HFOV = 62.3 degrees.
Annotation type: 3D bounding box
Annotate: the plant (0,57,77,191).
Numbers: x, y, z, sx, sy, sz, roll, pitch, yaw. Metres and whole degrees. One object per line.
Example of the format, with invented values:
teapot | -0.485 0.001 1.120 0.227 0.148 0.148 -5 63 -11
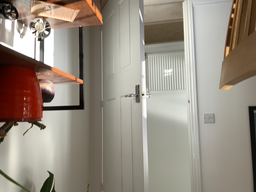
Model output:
plant | -0.460 0.370 0.890 0.270 0.920 0.560 -2 174 11
